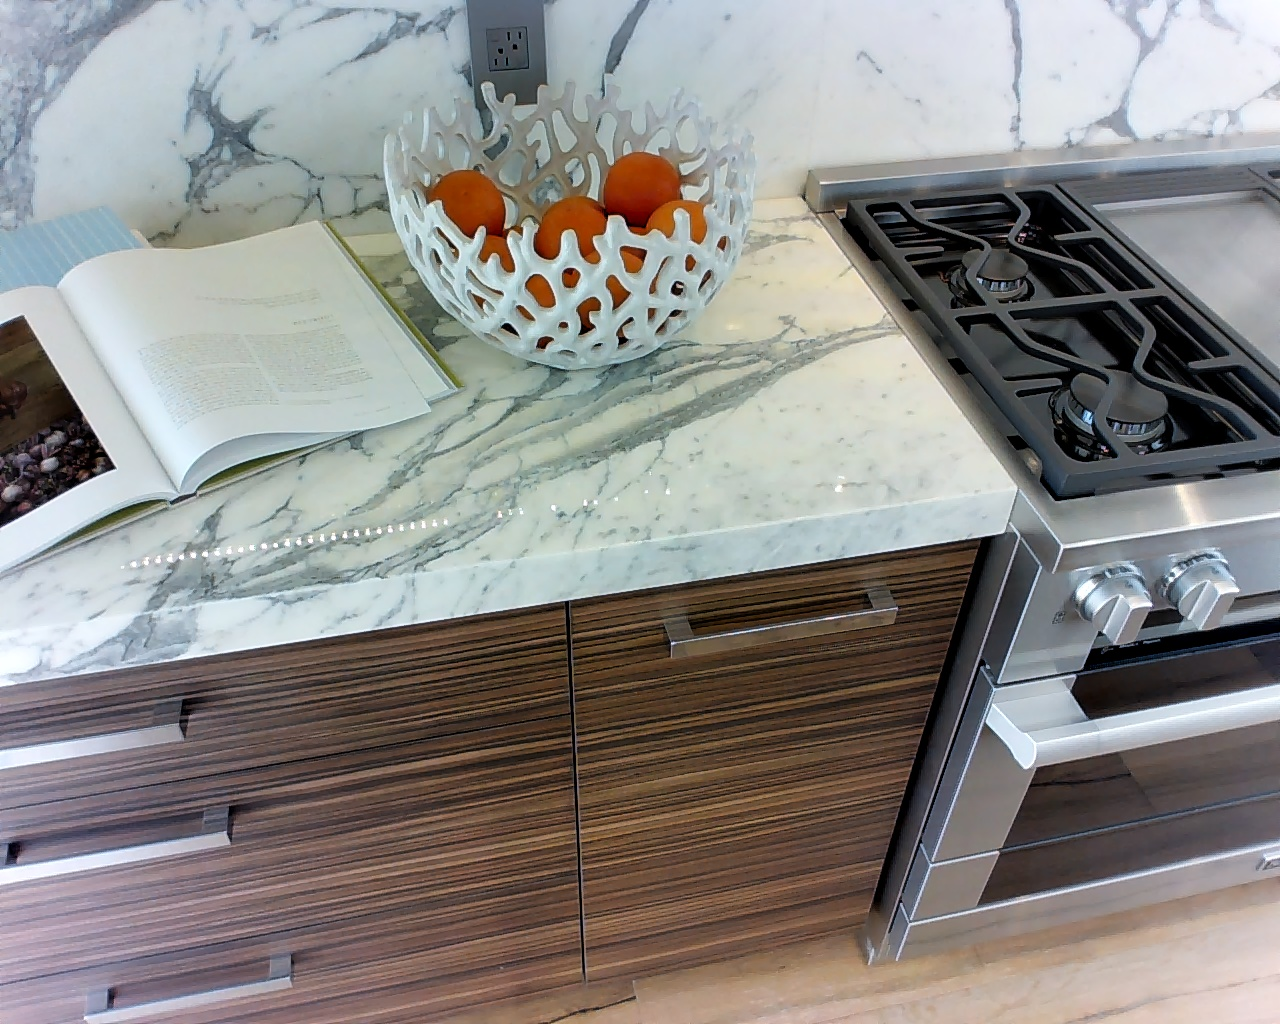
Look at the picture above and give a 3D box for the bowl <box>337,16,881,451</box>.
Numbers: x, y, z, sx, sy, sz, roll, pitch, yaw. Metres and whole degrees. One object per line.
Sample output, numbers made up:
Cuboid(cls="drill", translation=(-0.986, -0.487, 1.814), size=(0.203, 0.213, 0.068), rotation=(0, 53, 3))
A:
Cuboid(cls="bowl", translation=(-0.060, -0.320, 1.140), size=(0.450, 0.230, 0.430), rotation=(-10, 43, -11))
